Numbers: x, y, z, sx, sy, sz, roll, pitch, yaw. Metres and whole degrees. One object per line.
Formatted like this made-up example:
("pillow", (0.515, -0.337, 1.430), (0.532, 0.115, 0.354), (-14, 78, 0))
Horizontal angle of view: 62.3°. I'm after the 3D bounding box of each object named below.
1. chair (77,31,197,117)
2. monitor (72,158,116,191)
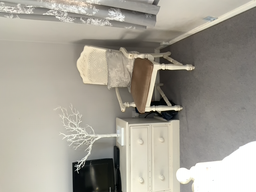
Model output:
("chair", (0.010, -0.240, 2.170), (0.720, 0.980, 0.530), (-114, 29, -51))
("monitor", (-0.360, 1.020, 2.290), (0.060, 0.460, 0.630), (180, 89, -67))
